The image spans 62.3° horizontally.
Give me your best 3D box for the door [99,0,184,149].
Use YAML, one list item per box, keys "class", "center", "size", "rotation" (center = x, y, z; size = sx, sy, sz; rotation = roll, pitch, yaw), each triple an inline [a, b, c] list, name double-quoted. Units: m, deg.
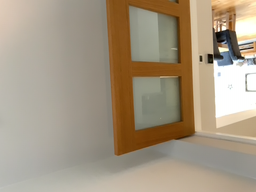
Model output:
- class: "door"
  center: [0.100, -0.630, 1.430]
  size: [0.620, 1.840, 0.120]
  rotation: [-5, -177, -39]
